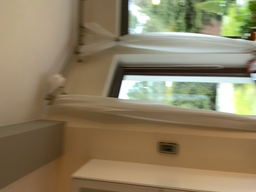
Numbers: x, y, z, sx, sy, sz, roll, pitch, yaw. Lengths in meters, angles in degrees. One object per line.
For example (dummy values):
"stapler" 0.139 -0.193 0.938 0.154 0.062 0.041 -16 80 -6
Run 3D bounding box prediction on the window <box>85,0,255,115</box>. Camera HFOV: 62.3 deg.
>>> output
"window" 0.690 -1.220 2.170 1.120 1.840 2.700 4 -92 -80
